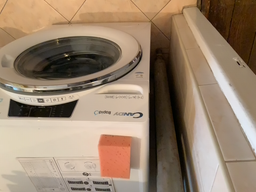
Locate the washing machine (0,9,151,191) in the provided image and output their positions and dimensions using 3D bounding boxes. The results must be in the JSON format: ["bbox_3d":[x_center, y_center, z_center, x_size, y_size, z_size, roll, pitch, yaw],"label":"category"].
[{"bbox_3d":[-0.220,-0.050,1.000,0.640,0.820,0.470,-1,125,6],"label":"washing machine"}]
